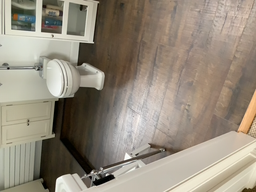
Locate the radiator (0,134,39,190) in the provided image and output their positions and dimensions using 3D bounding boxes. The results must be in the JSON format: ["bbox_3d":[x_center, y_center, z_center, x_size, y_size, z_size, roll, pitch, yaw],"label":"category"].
[{"bbox_3d":[-1.800,1.040,3.350,0.200,0.660,0.780,33,118,42],"label":"radiator"}]

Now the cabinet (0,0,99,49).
[{"bbox_3d":[-0.900,-0.770,2.010,0.380,1.160,0.490,30,116,43],"label":"cabinet"}]
